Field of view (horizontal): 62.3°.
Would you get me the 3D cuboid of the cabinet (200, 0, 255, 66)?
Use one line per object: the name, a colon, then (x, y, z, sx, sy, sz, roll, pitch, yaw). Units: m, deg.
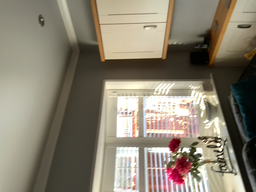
cabinet: (1.350, -1.010, 2.140, 1.610, 0.780, 0.340, 88, -178, -52)
